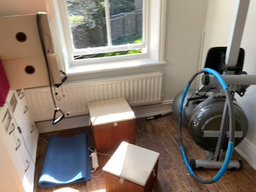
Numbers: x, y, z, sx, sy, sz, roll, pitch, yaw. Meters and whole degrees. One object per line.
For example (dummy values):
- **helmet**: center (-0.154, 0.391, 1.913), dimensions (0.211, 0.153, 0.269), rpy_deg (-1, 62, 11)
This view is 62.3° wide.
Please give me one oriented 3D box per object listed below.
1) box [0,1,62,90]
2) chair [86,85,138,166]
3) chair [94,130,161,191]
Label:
- **box**: center (-0.960, -0.410, 1.620), dimensions (0.790, 0.480, 0.680), rpy_deg (-9, 31, -14)
- **chair**: center (-0.190, 0.290, 2.350), dimensions (0.420, 0.540, 0.670), rpy_deg (-8, 31, -12)
- **chair**: center (0.020, 0.610, 1.780), dimensions (0.420, 0.400, 0.430), rpy_deg (8, 31, 16)
